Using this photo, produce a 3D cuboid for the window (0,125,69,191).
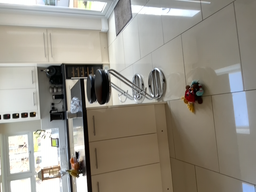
[{"bbox_3d":[-1.860,1.600,4.270,0.230,1.200,1.880,164,101,-68],"label":"window"}]
